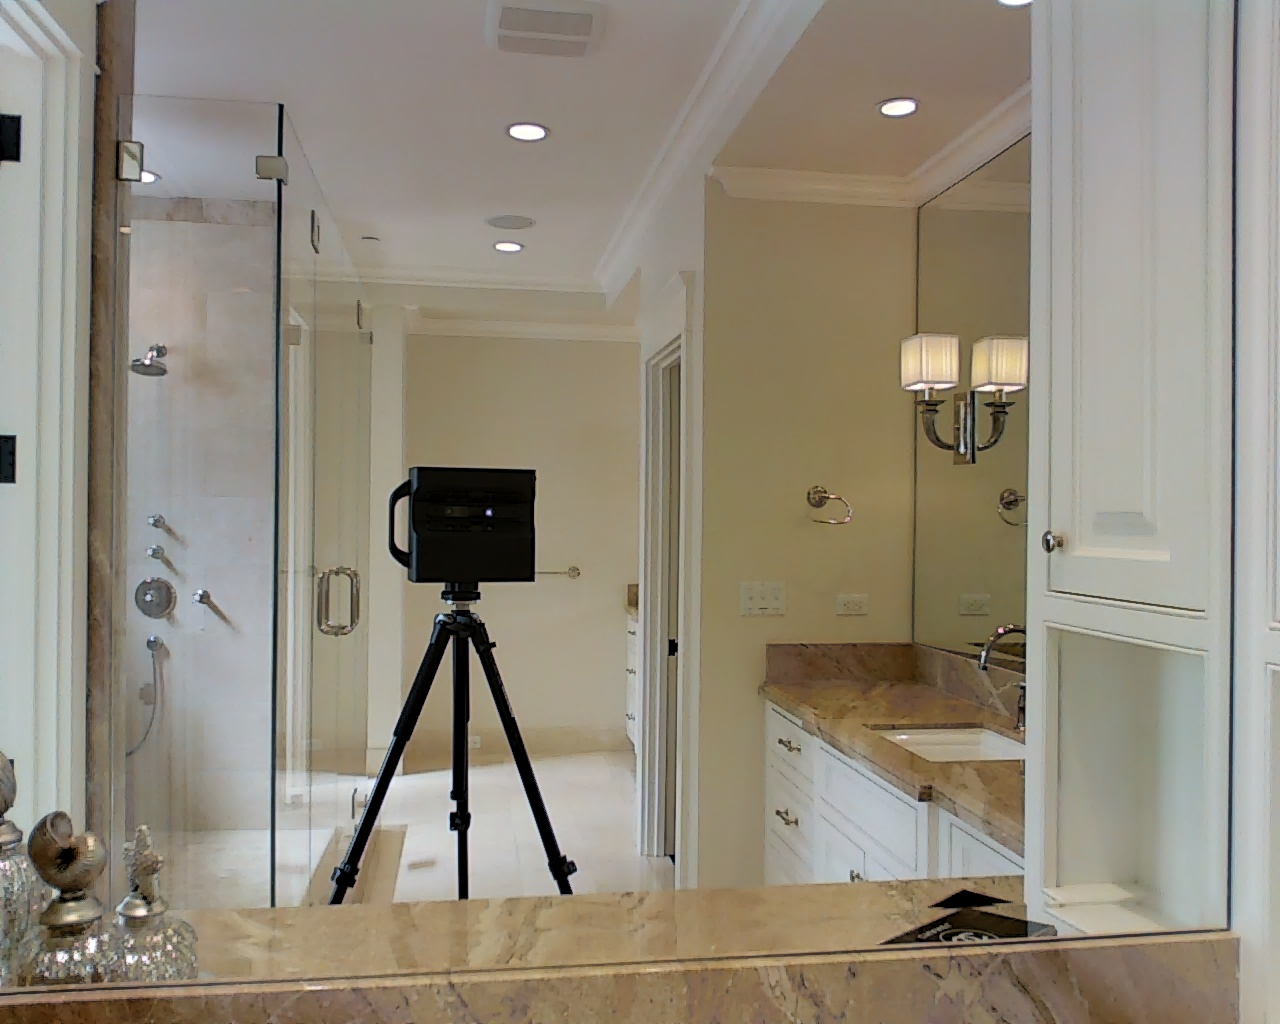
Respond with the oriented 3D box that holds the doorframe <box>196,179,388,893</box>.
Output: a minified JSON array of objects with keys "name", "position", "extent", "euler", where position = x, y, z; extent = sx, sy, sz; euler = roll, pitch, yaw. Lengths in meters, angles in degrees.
[{"name":"doorframe","position":[-1.459,0.090,4.690],"extent":[0.540,2.641,1.390],"euler":[1,0,-8]}]

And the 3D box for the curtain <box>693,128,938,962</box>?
[{"name":"curtain","position":[0.600,0.110,3.790],"extent":[0.720,2.721,0.490],"euler":[1,0,-8]}]

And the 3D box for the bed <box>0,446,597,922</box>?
[{"name":"bed","position":[-1.499,0.620,4.930],"extent":[2.389,1.681,2.060],"euler":[1,0,-8]}]
